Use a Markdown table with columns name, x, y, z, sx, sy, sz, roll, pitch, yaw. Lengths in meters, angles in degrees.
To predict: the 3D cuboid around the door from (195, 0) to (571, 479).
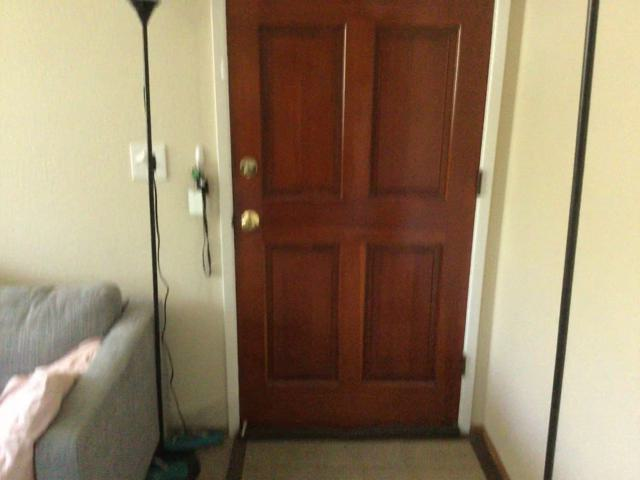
| name | x | y | z | sx | sy | sz | roll | pitch | yaw |
| --- | --- | --- | --- | --- | --- | --- | --- | --- | --- |
| door | 0.170 | -0.170 | 2.080 | 1.130 | 2.080 | 0.220 | 6 | 12 | 6 |
